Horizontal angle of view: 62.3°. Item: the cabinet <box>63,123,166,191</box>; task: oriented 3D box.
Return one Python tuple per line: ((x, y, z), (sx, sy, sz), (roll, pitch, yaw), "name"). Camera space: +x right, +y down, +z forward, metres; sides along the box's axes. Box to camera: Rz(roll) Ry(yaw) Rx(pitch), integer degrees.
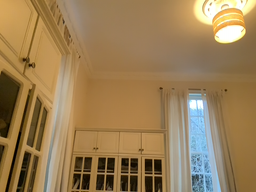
((-0.200, 1.580, 3.380), (1.540, 2.210, 0.490), (0, -22, 4), "cabinet")
